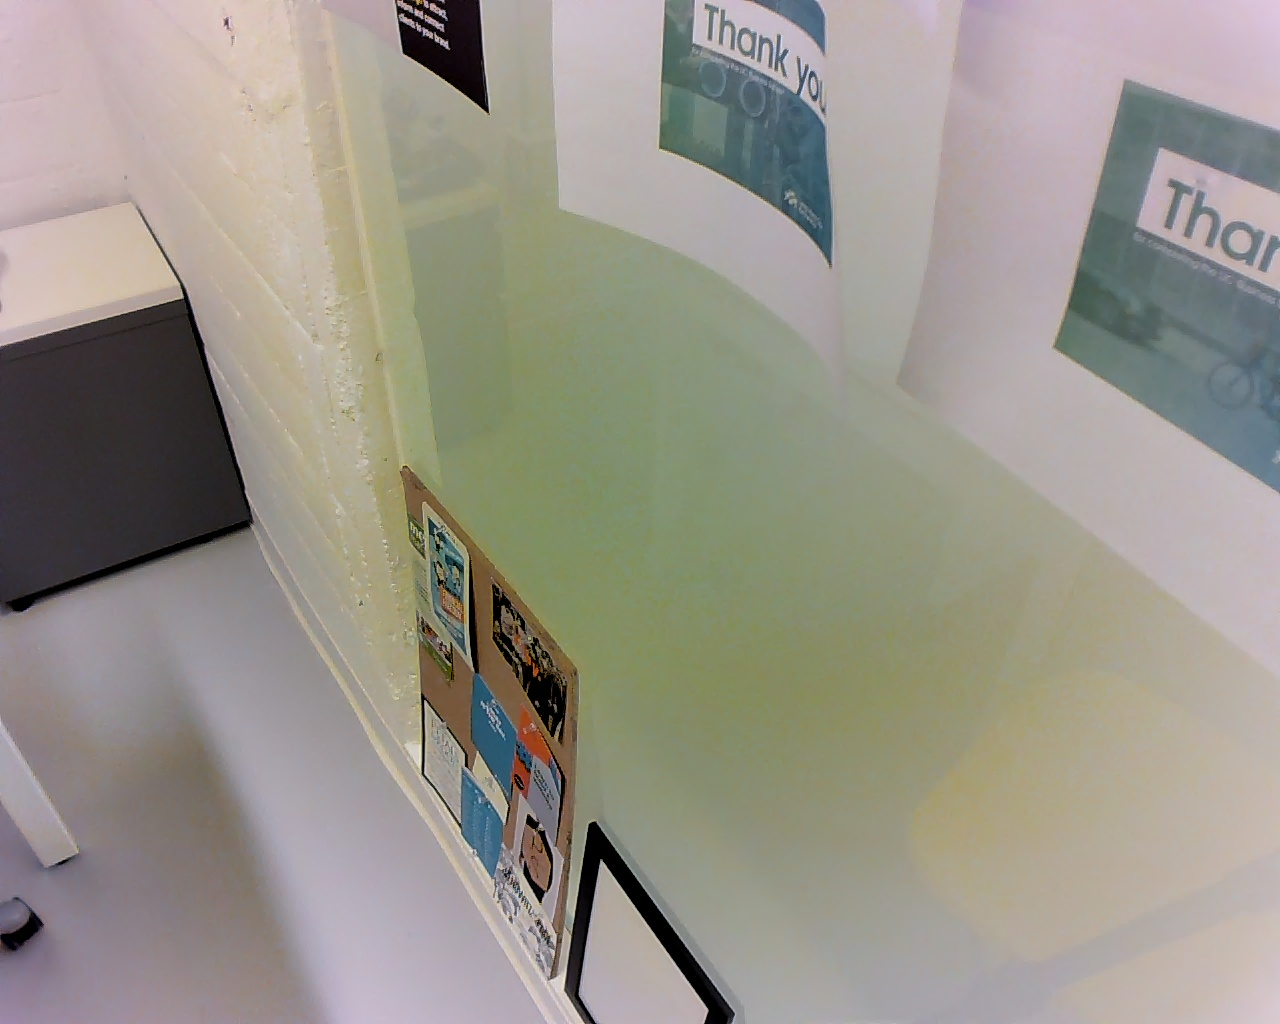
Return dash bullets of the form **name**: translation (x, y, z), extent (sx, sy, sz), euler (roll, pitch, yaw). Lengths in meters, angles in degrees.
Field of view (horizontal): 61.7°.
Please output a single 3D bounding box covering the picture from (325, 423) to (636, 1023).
- **picture**: translation (-0.180, 0.310, 1.320), extent (0.100, 0.720, 0.460), euler (-25, 47, -25)
